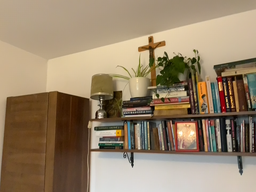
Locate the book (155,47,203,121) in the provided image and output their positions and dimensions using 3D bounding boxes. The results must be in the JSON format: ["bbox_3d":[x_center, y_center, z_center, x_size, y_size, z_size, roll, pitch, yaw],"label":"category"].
[{"bbox_3d":[0.390,-0.070,1.610,0.300,0.490,0.240,-5,-12,22],"label":"book"}]

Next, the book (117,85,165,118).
[{"bbox_3d":[0.110,0.060,1.720,0.310,0.210,0.270,-5,-12,25],"label":"book"}]

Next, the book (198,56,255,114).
[{"bbox_3d":[0.790,-0.060,1.430,0.560,0.310,0.330,-5,-12,23],"label":"book"}]
